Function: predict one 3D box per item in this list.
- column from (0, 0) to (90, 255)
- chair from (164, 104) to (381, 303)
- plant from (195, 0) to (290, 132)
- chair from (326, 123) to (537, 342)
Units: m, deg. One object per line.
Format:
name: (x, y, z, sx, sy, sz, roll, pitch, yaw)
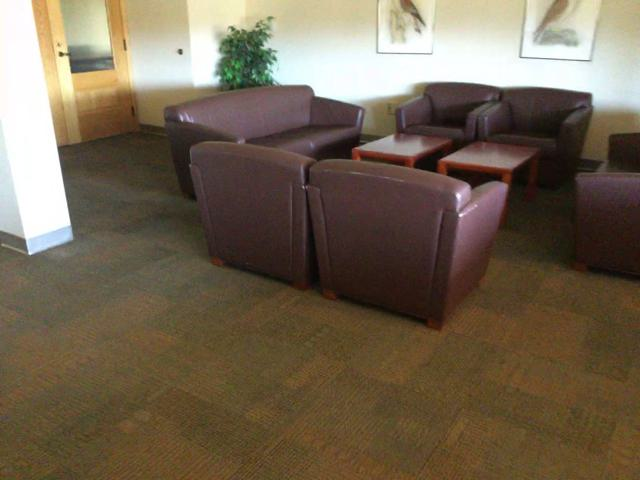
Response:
column: (-1.630, -0.680, 3.120, 0.180, 1.450, 0.470, 12, 28, 27)
chair: (-0.220, -0.260, 3.170, 0.830, 0.770, 0.800, 12, 26, 27)
plant: (-0.770, -1.800, 5.900, 0.640, 1.210, 0.620, 18, 29, 37)
chair: (0.540, -0.100, 2.780, 0.710, 0.710, 0.800, 13, 26, 28)
